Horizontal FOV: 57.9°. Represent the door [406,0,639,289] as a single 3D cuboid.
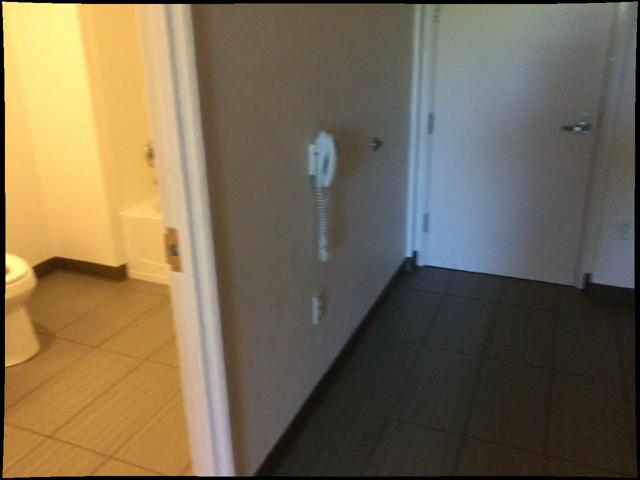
[{"bbox_3d":[1.039,-0.921,3.070,1.029,2.362,0.270,8,26,21],"label":"door"}]
